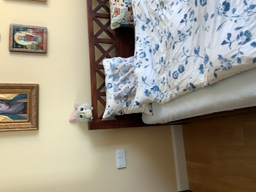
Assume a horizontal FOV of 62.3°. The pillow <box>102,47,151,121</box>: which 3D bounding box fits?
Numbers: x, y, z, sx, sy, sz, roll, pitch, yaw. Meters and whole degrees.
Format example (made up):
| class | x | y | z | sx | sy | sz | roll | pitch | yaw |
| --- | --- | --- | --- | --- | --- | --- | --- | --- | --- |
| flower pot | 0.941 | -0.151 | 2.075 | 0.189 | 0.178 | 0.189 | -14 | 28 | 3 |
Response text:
| class | x | y | z | sx | sy | sz | roll | pitch | yaw |
| --- | --- | --- | --- | --- | --- | --- | --- | --- | --- |
| pillow | -0.030 | -0.080 | 1.900 | 0.350 | 0.310 | 0.590 | 160 | 108 | -67 |
